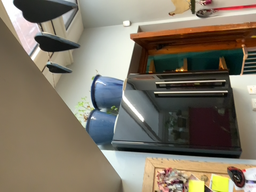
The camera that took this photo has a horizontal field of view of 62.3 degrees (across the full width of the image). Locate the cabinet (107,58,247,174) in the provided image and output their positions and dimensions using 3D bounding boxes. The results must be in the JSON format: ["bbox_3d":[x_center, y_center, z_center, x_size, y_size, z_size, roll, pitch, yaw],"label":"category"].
[{"bbox_3d":[0.330,0.100,1.510,0.330,0.750,0.710,74,-157,-48],"label":"cabinet"}]
